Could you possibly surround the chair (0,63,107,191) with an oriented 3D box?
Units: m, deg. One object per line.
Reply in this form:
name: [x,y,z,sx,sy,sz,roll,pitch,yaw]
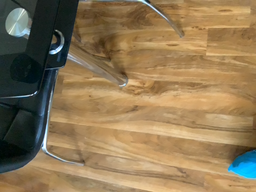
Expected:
chair: [-0.510,0.160,0.820,0.410,0.940,0.540,13,88,18]
